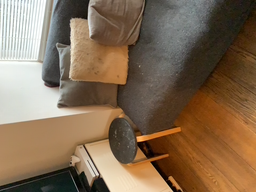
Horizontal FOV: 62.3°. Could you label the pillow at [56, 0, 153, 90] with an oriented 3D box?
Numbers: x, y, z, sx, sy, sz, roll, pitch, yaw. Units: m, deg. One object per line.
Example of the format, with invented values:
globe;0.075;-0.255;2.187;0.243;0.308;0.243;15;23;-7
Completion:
pillow;-0.160;-0.420;1.430;0.280;0.440;0.650;33;117;28
